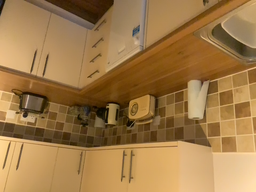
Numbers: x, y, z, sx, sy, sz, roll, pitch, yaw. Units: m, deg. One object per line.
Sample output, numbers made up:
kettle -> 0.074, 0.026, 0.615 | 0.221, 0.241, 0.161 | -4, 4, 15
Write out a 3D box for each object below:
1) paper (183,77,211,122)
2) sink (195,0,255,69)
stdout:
paper -> 0.500, 0.030, 1.540 | 0.110, 0.290, 0.150 | 16, 159, -28
sink -> 0.680, -0.390, 1.030 | 0.490, 0.240, 0.470 | 17, 159, -30
